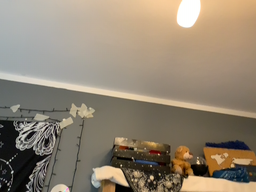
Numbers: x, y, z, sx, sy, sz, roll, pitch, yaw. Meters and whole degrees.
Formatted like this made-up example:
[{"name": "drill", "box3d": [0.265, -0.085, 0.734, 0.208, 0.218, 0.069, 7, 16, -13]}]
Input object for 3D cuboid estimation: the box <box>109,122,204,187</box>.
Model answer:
[{"name": "box", "box3d": [0.170, 0.400, 1.410, 0.530, 0.300, 0.280, 9, -31, -8]}]
